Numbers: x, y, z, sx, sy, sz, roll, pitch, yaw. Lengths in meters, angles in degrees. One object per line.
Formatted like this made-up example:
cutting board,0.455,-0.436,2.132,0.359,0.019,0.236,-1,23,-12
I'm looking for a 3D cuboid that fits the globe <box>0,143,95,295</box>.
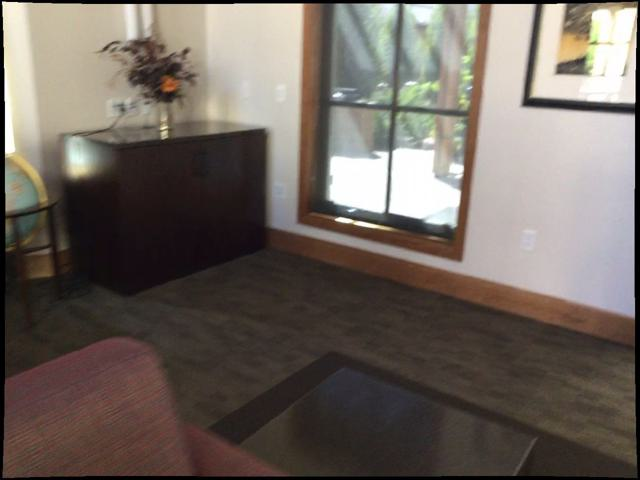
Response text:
globe,-1.618,-0.140,3.010,0.590,0.581,0.540,16,25,35
